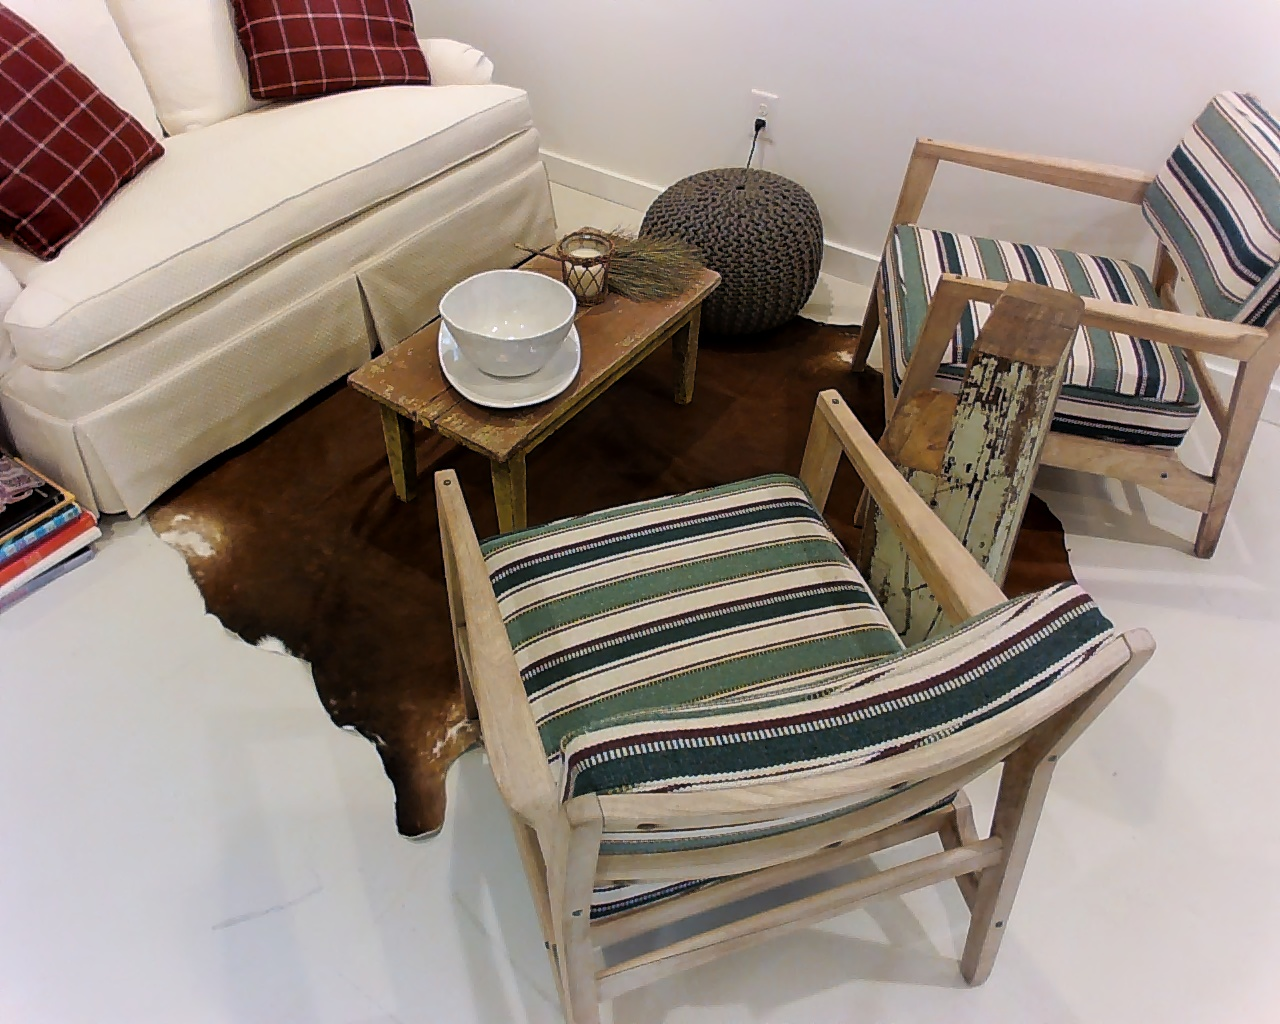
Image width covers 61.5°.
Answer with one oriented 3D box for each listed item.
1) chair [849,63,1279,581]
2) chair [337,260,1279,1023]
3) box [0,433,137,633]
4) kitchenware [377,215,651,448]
[{"bbox_3d":[0.920,-0.410,2.270,0.830,0.770,0.700,5,42,5],"label":"chair"},{"bbox_3d":[0.120,0.250,1.510,0.830,0.770,0.820,-13,44,-15],"label":"chair"},{"bbox_3d":[-1.310,0.050,2.200,0.310,0.160,0.370,26,48,25],"label":"box"},{"bbox_3d":[-0.260,-0.380,2.150,0.400,0.160,0.490,-15,44,-17],"label":"kitchenware"}]
